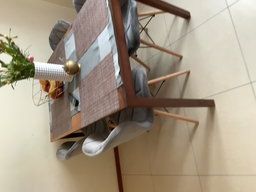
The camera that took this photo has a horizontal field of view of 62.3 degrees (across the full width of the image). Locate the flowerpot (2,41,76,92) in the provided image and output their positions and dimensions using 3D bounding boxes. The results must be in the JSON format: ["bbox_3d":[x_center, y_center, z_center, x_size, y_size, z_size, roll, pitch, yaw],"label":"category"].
[{"bbox_3d":[-0.580,-0.170,1.390,0.210,0.400,0.240,-18,74,52],"label":"flowerpot"}]
